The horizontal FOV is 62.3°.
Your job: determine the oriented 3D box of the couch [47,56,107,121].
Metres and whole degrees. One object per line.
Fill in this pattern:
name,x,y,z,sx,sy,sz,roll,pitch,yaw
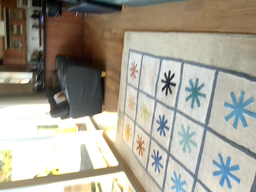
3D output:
couch,-0.970,-0.180,3.840,0.920,0.860,0.930,-145,59,-61
